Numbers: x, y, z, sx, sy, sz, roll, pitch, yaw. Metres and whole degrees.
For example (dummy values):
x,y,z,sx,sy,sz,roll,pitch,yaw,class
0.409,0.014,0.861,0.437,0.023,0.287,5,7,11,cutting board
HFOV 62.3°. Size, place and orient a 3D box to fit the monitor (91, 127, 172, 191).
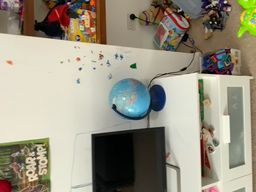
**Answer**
x,y,z,sx,sy,sz,roll,pitch,yaw,class
0.040,0.550,1.140,0.060,0.460,0.720,-5,87,60,monitor
